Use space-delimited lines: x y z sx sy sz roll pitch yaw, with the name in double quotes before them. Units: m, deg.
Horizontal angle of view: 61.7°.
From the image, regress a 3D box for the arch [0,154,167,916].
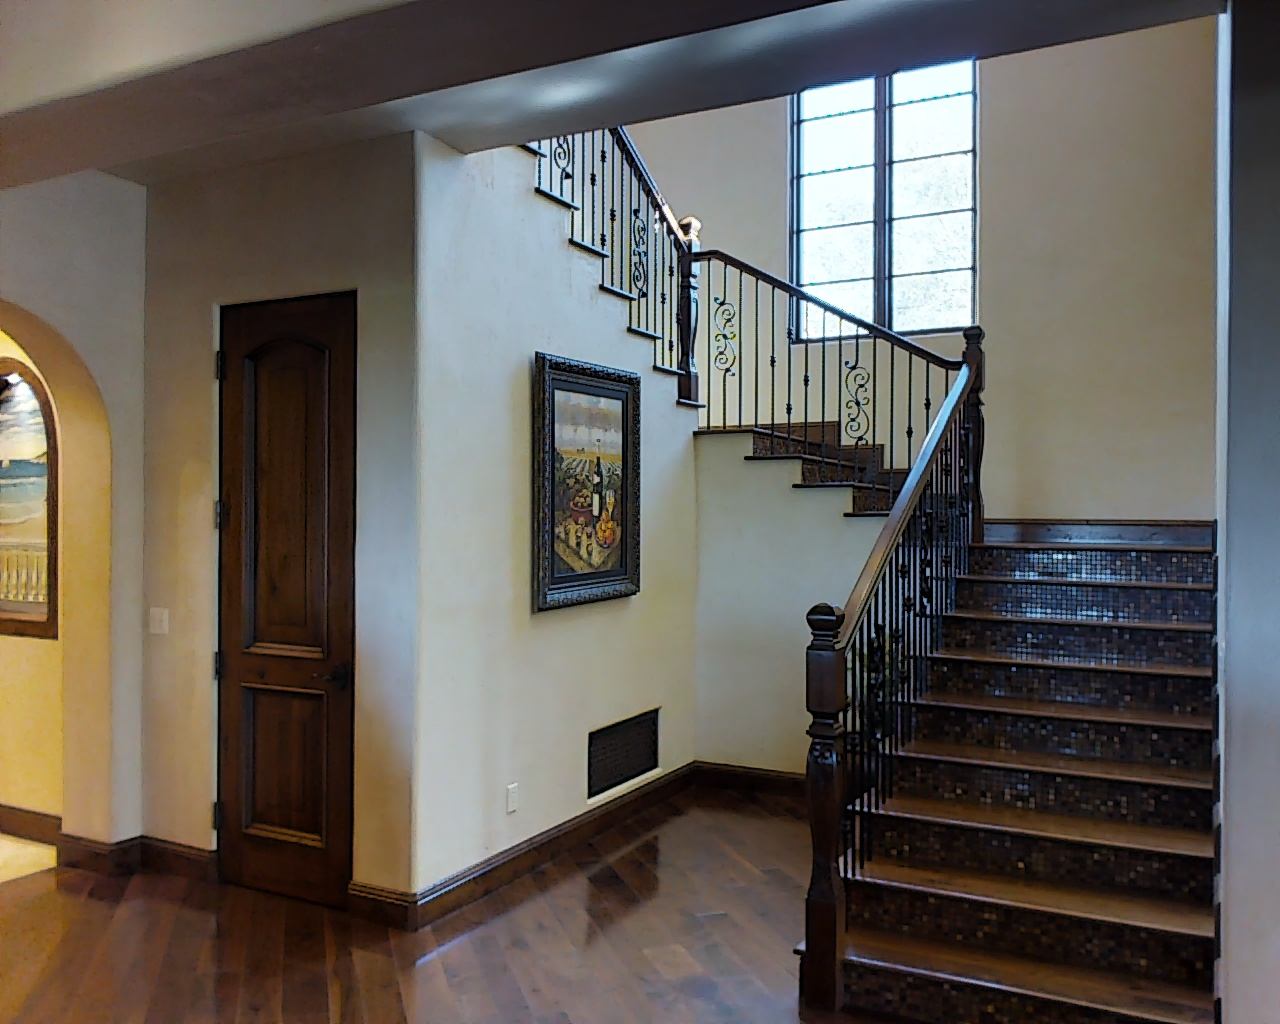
"arch" -2.680 0.090 4.200 0.530 2.910 1.460 1 0 28
